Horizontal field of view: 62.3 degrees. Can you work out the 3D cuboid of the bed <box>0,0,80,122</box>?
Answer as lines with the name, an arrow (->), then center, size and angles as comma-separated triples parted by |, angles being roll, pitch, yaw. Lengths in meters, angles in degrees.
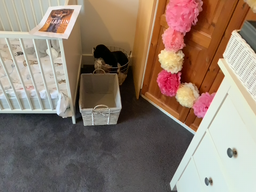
bed -> -1.160, -0.350, 1.530 | 1.480, 0.790, 0.730 | 1, 45, -6
